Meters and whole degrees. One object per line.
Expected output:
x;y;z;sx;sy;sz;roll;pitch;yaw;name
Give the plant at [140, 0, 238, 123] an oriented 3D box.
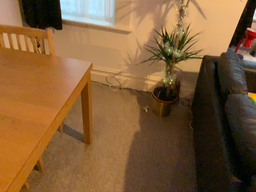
0.440;-0.470;1.680;0.470;1.500;0.350;9;39;3;plant
